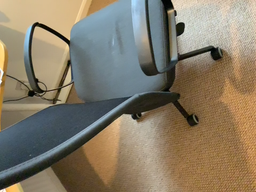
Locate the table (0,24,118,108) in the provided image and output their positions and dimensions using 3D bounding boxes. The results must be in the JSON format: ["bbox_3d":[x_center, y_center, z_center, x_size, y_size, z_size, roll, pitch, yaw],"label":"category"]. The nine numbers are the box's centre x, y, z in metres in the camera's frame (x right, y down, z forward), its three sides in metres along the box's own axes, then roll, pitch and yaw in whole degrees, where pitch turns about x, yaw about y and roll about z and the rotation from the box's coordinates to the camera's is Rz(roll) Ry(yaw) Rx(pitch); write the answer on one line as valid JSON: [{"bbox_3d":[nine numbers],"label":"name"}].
[{"bbox_3d":[-0.540,-0.190,1.390,0.570,0.730,0.270,36,109,32],"label":"table"}]
